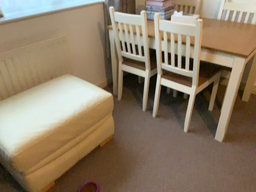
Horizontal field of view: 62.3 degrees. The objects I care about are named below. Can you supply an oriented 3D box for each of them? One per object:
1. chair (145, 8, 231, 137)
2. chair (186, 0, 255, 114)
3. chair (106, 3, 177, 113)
[{"bbox_3d":[0.470,-0.210,1.790,0.400,0.890,0.510,23,40,33],"label":"chair"},{"bbox_3d":[0.910,-0.390,2.030,0.400,0.910,0.500,23,40,33],"label":"chair"},{"bbox_3d":[0.130,-0.380,2.060,0.400,0.880,0.490,23,40,33],"label":"chair"}]
